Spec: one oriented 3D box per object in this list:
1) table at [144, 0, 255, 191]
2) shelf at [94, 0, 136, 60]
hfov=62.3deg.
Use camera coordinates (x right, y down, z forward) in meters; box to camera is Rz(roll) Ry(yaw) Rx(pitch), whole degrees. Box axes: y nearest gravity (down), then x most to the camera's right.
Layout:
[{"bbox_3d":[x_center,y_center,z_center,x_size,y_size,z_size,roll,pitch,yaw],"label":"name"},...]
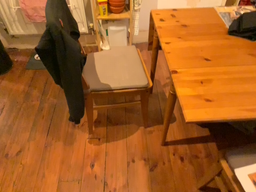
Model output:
[{"bbox_3d":[0.560,-0.030,1.370,0.760,0.750,0.940,-3,48,-2],"label":"table"},{"bbox_3d":[-0.120,-0.810,1.950,0.350,0.970,0.260,-4,48,-3],"label":"shelf"}]
